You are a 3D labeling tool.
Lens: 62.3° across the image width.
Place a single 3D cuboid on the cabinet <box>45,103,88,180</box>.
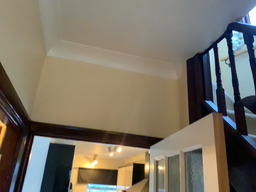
[{"bbox_3d":[-0.730,0.620,2.700,0.310,0.810,0.770,7,-23,-7],"label":"cabinet"}]
